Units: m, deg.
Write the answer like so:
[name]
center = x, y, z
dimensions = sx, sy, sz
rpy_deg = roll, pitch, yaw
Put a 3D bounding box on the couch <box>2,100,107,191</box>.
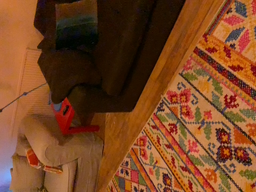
[couch]
center = -1.050, 0.930, 2.780
dimensions = 1.160, 0.810, 1.440
rpy_deg = 28, 109, 49
